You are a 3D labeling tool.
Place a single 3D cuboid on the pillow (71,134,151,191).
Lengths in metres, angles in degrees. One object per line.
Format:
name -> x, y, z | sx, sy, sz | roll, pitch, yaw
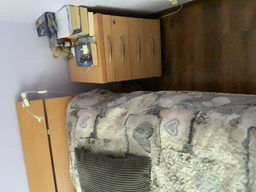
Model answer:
pillow -> -0.100, 0.560, 1.190 | 0.440, 0.220, 0.560 | 10, 107, 51
